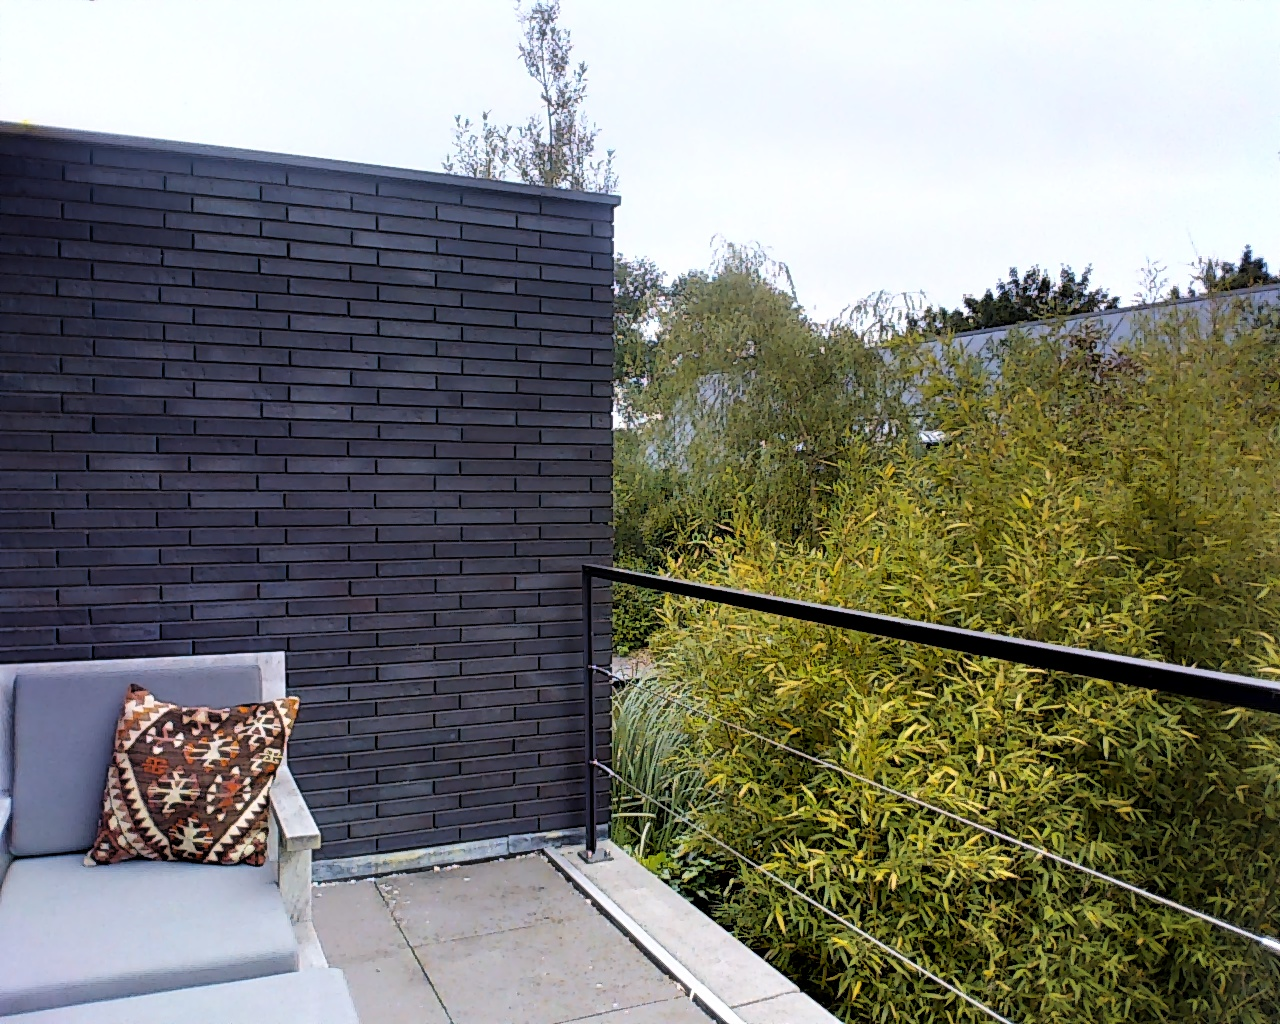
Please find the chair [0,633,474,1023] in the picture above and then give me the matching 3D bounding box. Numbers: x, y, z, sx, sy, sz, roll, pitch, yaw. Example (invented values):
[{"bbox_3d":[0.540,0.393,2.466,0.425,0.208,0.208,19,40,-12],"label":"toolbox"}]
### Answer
[{"bbox_3d":[-1.090,0.830,2.420,0.960,0.860,1.820,0,1,-24],"label":"chair"}]
